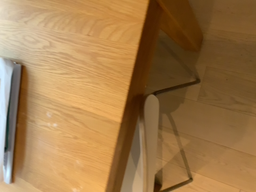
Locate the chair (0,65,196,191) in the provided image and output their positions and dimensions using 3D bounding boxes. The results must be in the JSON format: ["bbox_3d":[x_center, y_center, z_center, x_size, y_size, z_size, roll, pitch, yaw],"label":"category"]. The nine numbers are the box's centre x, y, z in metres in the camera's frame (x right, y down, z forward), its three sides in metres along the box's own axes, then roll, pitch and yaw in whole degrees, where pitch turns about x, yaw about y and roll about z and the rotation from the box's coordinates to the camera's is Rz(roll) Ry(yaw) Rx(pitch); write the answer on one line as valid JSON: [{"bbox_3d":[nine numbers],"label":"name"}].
[{"bbox_3d":[-0.020,0.130,0.880,0.440,0.780,0.420,9,97,23],"label":"chair"}]
